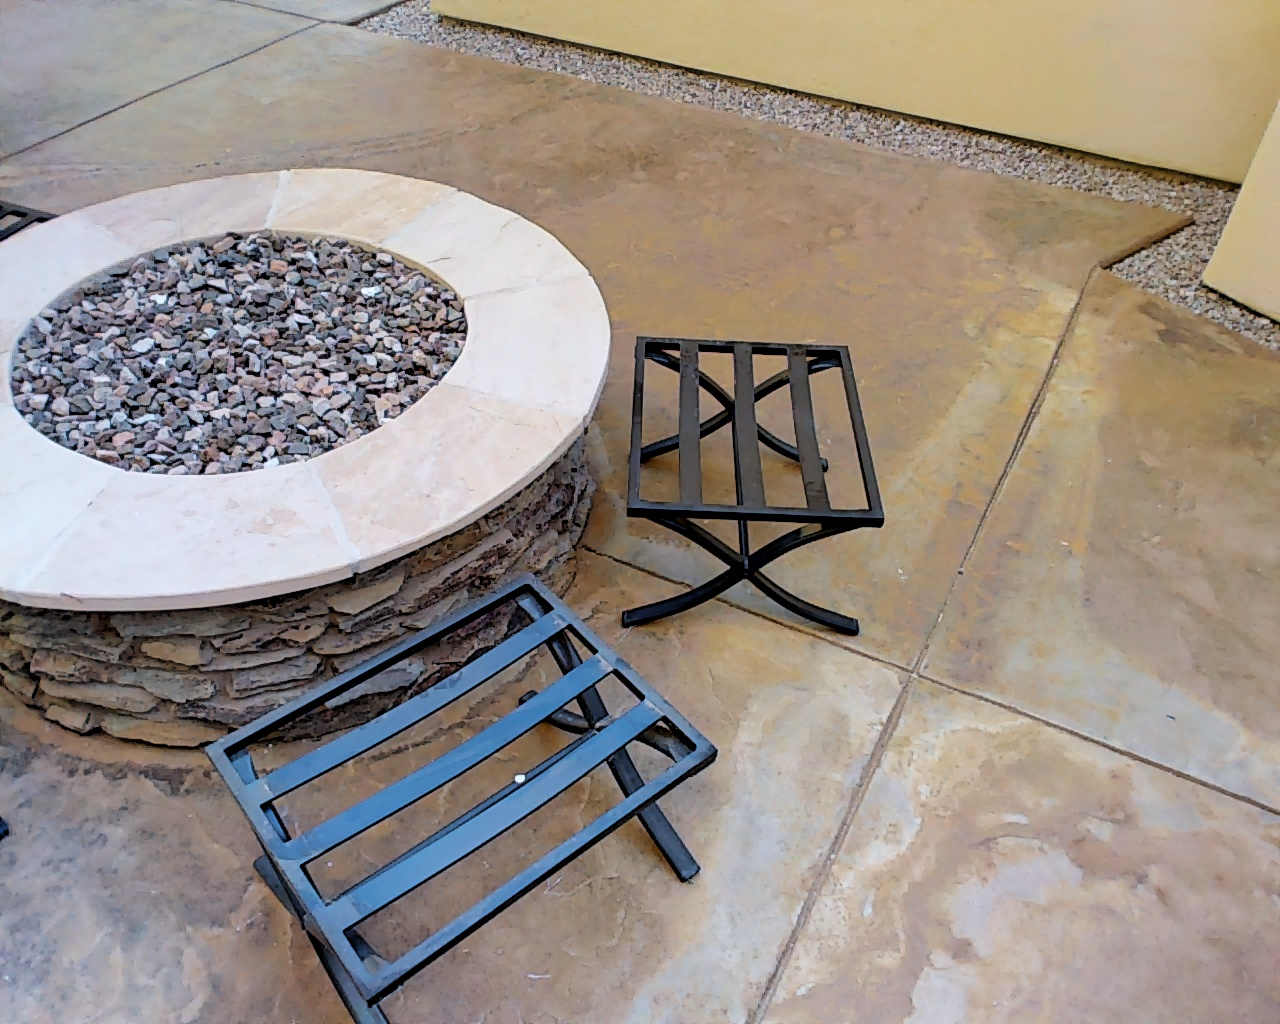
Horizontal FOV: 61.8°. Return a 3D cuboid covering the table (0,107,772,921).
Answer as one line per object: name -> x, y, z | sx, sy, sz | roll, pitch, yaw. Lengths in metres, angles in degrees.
table -> -0.740, -0.220, 2.210 | 1.440, 0.440, 1.420 | 28, 49, 26
